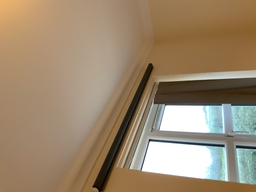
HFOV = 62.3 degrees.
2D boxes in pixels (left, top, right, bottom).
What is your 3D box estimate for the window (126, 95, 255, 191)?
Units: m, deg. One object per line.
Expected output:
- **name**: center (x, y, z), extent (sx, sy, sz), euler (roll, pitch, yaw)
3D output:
- **window**: center (0.770, 0.310, 1.680), extent (1.060, 1.330, 0.060), euler (-62, -35, -51)
